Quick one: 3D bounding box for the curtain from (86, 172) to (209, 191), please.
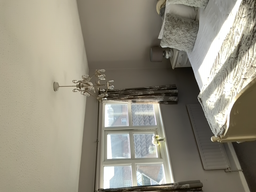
[{"bbox_3d":[0.250,1.240,2.770,0.210,1.550,0.340,93,175,-49],"label":"curtain"}]

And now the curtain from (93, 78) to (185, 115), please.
[{"bbox_3d":[0.160,-0.010,3.770,0.220,1.510,0.670,92,175,-47],"label":"curtain"}]

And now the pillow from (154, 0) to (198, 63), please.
[{"bbox_3d":[0.660,-1.010,3.120,0.730,0.350,0.750,93,174,-53],"label":"pillow"}]

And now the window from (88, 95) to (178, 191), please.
[{"bbox_3d":[0.030,0.720,3.520,0.290,1.230,1.640,93,175,-51],"label":"window"}]
